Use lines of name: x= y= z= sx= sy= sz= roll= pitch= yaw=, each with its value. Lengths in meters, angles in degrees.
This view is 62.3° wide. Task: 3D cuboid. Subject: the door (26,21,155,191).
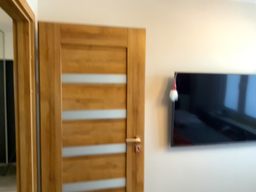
door: x=-0.290 y=0.490 z=1.730 sx=0.950 sy=2.070 sz=0.140 roll=0 pitch=4 yaw=-8
